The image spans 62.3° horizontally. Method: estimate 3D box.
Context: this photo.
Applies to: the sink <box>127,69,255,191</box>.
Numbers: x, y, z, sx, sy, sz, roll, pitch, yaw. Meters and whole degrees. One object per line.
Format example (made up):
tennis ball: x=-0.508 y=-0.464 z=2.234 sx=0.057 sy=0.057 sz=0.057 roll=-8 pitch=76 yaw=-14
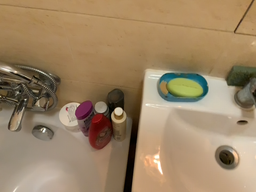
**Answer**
sink: x=0.270 y=0.170 z=0.510 sx=0.520 sy=0.140 sz=0.390 roll=9 pitch=60 yaw=2
